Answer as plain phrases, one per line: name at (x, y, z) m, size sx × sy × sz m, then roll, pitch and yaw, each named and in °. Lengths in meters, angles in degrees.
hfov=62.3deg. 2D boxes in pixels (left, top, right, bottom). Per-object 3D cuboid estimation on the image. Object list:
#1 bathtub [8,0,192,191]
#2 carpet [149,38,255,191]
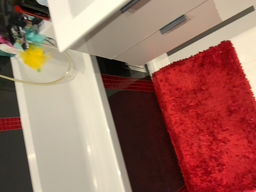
bathtub at (-0.150, 0.360, 1.320) m, size 0.700 × 0.570 × 1.670 m, roll -25°, pitch 75°, yaw 32°
carpet at (0.470, 0.150, 1.220) m, size 0.500 × 0.050 × 0.810 m, roll -26°, pitch 75°, yaw 32°
